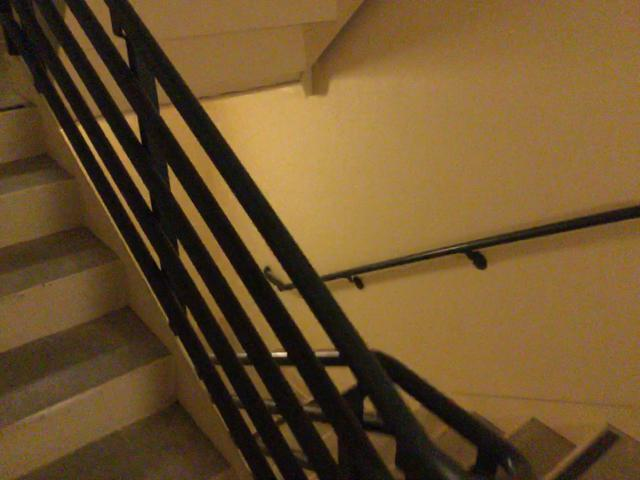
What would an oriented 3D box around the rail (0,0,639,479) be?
[{"bbox_3d":[-0.340,0.350,1.540,0.300,2.430,1.930,-18,36,-32],"label":"rail"}]
